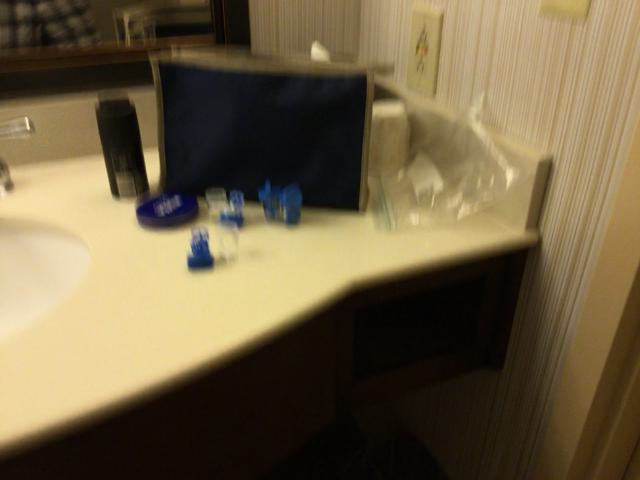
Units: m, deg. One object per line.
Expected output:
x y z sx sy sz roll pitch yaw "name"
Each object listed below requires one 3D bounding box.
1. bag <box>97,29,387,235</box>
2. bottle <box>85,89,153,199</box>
-0.080 -0.160 0.780 0.310 0.200 0.230 5 29 10 "bag"
-0.270 -0.130 0.780 0.060 0.130 0.050 -13 30 -21 "bottle"
